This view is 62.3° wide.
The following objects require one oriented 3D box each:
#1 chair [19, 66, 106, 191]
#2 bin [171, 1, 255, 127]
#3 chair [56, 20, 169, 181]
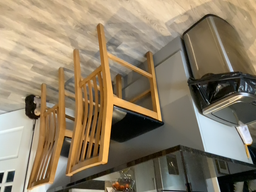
[{"bbox_3d":[-0.520,0.300,1.840,0.490,0.910,0.430,22,141,-37],"label":"chair"},{"bbox_3d":[0.620,-0.190,1.430,0.490,0.640,0.310,21,142,-36],"label":"bin"},{"bbox_3d":[-0.110,0.050,1.450,0.490,0.910,0.430,22,141,-37],"label":"chair"}]
